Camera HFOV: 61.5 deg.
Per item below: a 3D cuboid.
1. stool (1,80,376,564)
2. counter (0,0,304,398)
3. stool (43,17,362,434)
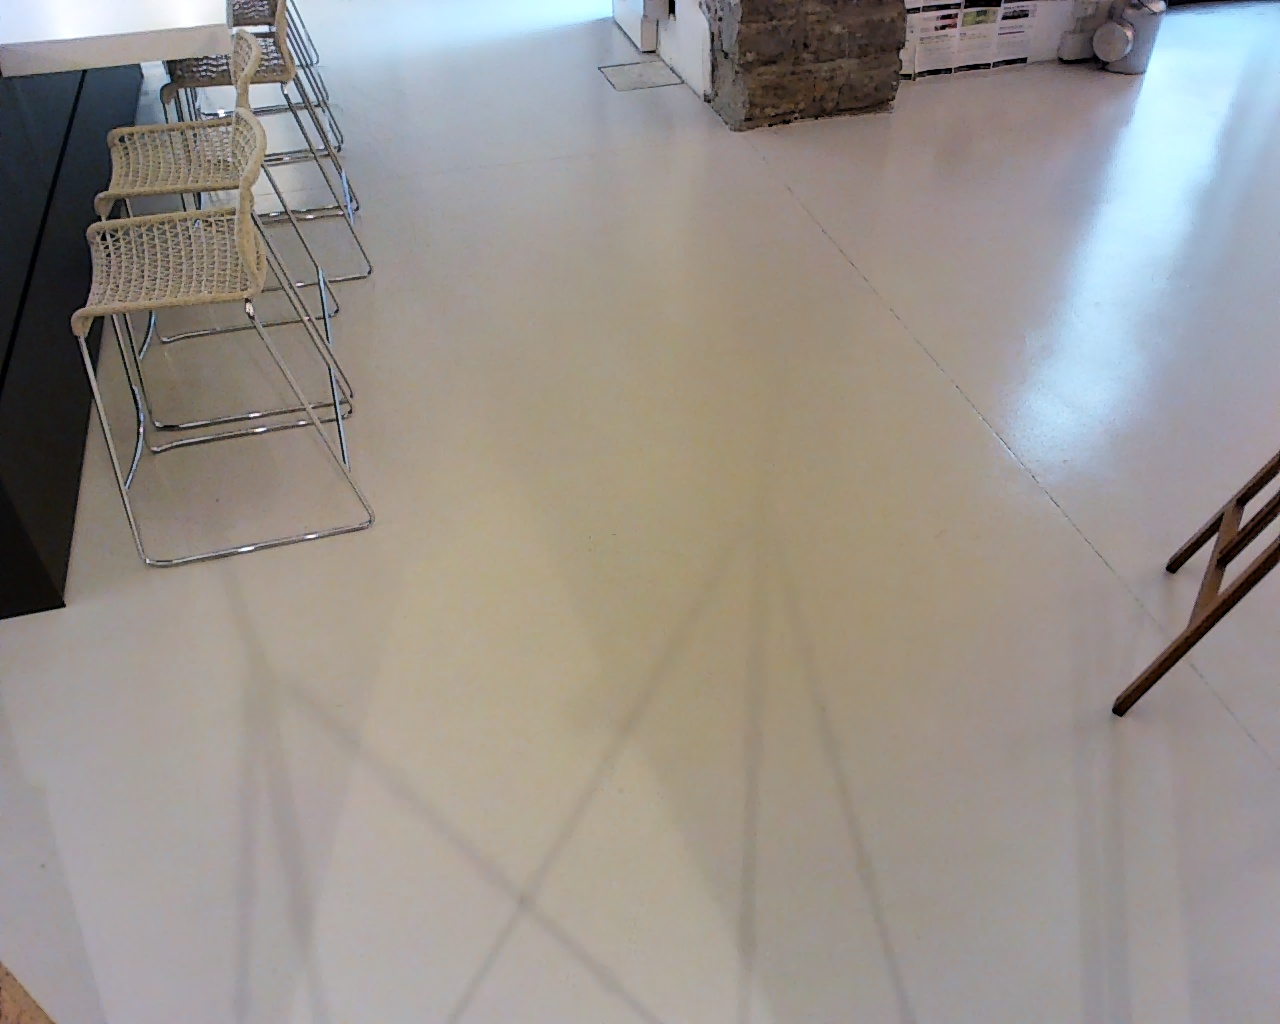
[{"bbox_3d":[-1.030,-0.450,2.600,0.550,0.910,0.570,-12,43,-13],"label":"stool"},{"bbox_3d":[-2.159,-1.481,3.320,1.999,0.320,3.751,-10,43,-11],"label":"counter"},{"bbox_3d":[-1.179,-0.800,3.050,0.560,0.940,0.540,-11,43,-11],"label":"stool"}]
